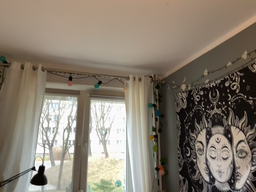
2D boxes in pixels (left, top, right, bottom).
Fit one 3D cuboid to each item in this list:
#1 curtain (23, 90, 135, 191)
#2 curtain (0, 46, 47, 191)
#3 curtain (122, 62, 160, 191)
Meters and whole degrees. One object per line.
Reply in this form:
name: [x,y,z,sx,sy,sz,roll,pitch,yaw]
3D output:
curtain: [-0.620,0.700,2.990,1.400,1.440,0.290,4,-13,-15]
curtain: [-1.200,0.450,2.240,0.450,1.940,0.260,4,-13,-14]
curtain: [0.150,0.460,2.690,0.390,1.760,0.270,3,-13,-13]
